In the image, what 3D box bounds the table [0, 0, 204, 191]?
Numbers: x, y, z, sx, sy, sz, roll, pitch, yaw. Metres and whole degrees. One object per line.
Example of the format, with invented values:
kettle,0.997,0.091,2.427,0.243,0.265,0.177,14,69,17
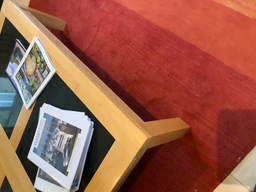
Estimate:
table,-0.550,0.330,1.340,1.260,0.430,1.490,42,112,29
